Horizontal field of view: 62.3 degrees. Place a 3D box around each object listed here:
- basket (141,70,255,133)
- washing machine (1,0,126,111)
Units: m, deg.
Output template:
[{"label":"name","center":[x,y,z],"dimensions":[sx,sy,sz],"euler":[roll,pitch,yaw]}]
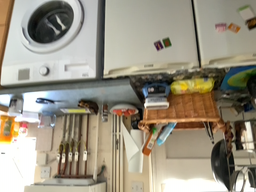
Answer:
[{"label":"basket","center":[0.420,0.080,1.440],"dimensions":[0.580,0.270,0.550],"euler":[-4,164,11]},{"label":"washing machine","center":[-0.370,-0.410,1.540],"dimensions":[0.570,0.890,0.640],"euler":[-4,164,10]}]
